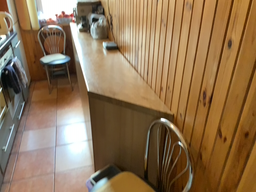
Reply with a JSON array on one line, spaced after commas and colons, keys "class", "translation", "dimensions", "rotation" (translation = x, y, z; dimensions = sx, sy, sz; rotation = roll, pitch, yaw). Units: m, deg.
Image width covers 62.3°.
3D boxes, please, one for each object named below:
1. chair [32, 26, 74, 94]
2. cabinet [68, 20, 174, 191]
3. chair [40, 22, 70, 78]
[{"class": "chair", "translation": [-1.030, -0.520, 3.010], "dimensions": [0.400, 0.830, 0.470], "rotation": [-6, 29, -13]}, {"class": "cabinet", "translation": [-0.350, -0.170, 2.330], "dimensions": [0.380, 0.860, 2.720], "rotation": [-7, 29, -15]}, {"class": "chair", "translation": [-1.130, -0.710, 3.340], "dimensions": [0.330, 0.830, 0.140], "rotation": [-6, 29, -13]}]
